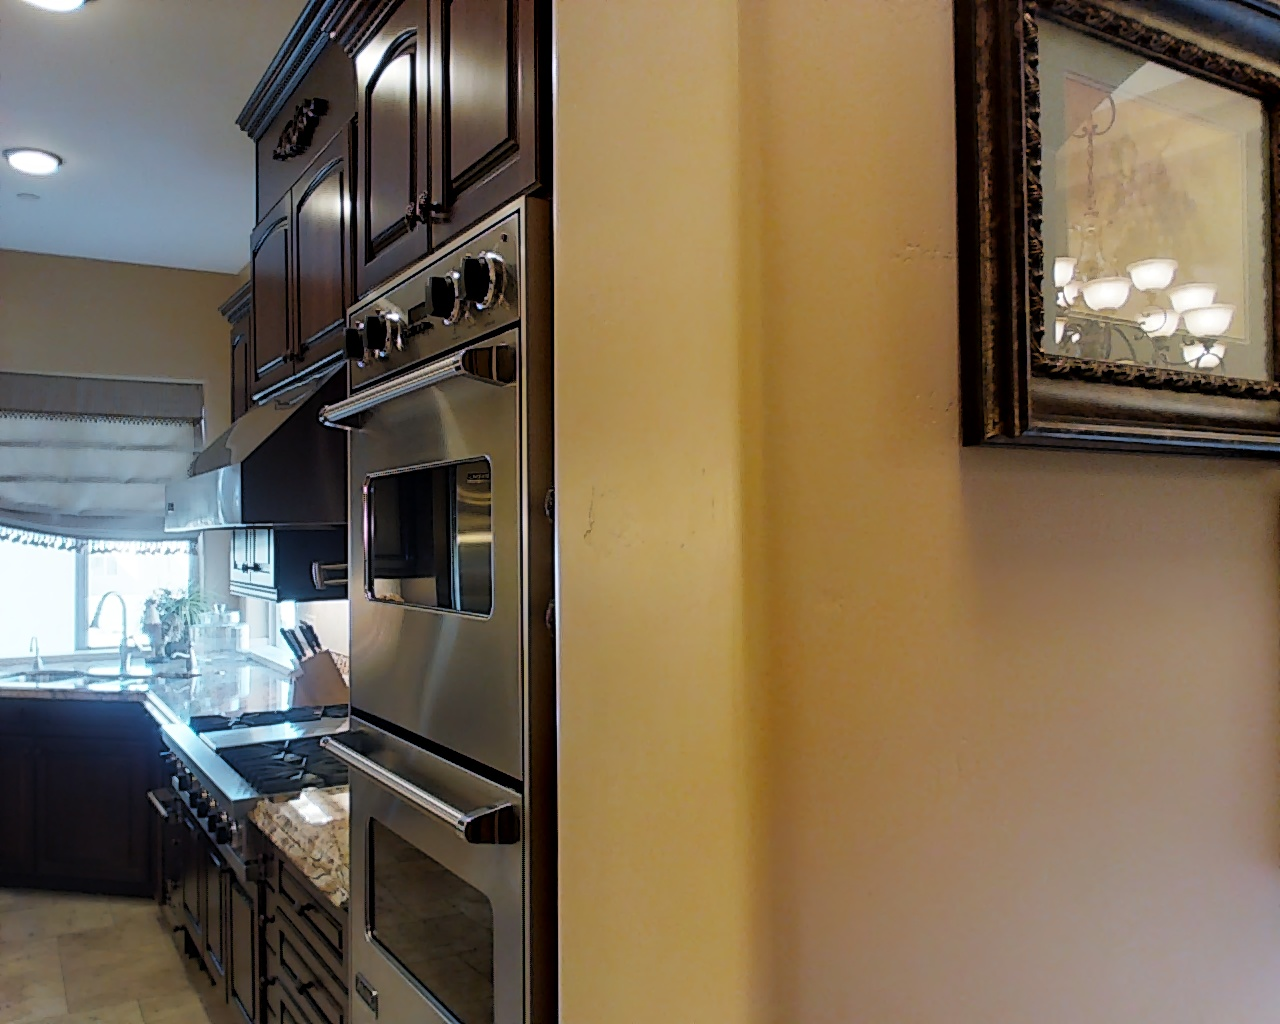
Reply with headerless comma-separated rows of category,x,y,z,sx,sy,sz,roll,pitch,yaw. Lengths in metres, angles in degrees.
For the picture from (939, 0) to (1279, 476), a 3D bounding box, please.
picture,0.450,-0.270,0.890,0.500,0.470,0.060,0,-1,-32
